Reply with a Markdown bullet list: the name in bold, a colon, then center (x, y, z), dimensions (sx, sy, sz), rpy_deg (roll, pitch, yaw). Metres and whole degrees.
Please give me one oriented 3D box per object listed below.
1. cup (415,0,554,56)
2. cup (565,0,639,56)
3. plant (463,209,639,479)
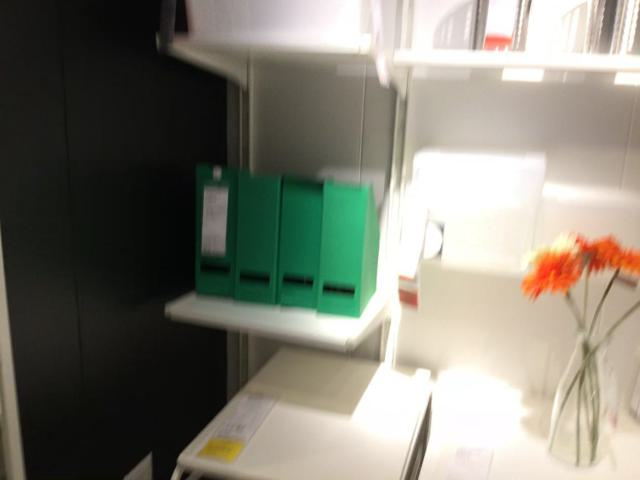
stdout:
- **cup**: center (0.350, -0.500, 1.200), dimensions (0.250, 0.200, 0.220), rpy_deg (6, 12, 21)
- **cup**: center (0.580, -0.470, 1.150), dimensions (0.150, 0.180, 0.170), rpy_deg (6, 12, 21)
- **plant**: center (0.520, 0.200, 1.200), dimensions (0.350, 0.460, 0.380), rpy_deg (6, 12, 21)
